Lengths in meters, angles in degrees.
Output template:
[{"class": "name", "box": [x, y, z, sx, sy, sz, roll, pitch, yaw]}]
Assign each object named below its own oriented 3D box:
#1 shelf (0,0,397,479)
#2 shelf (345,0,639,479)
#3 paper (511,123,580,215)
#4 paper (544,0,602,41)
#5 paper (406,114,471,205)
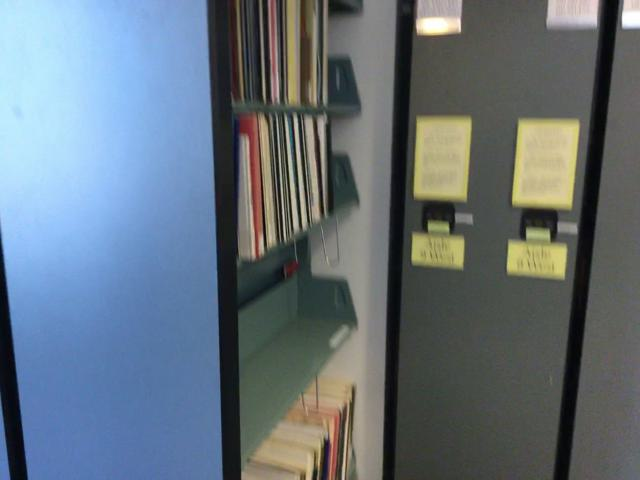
[{"class": "shelf", "box": [-0.300, -0.090, 1.570, 0.760, 2.500, 1.060, 0, 9, 18]}, {"class": "shelf", "box": [0.570, -0.200, 1.900, 0.720, 2.540, 0.540, -5, 8, 19]}, {"class": "paper", "box": [0.640, -0.200, 1.650, 0.180, 0.250, 0.050, 0, 9, 18]}, {"class": "paper", "box": [0.680, -0.610, 1.560, 0.140, 0.120, 0.040, 0, 9, 18]}, {"class": "paper", "box": [0.360, -0.240, 1.750, 0.180, 0.260, 0.050, 0, 9, 18]}]
